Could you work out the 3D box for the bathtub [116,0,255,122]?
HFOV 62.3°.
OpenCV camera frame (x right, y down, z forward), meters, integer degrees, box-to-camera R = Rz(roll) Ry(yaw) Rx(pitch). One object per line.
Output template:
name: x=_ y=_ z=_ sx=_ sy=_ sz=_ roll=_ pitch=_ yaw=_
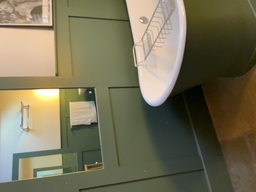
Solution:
bathtub: x=0.350 y=-0.780 z=1.610 sx=0.730 sy=0.660 sz=1.760 roll=124 pitch=140 yaw=-61
